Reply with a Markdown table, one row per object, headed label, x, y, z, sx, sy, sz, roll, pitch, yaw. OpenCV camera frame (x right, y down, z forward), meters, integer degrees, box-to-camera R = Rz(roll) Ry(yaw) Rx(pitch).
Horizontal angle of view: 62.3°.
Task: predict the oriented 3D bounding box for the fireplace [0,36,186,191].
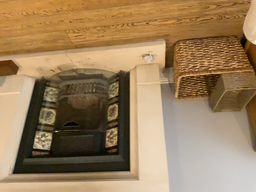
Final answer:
| label | x | y | z | sx | sy | sz | roll | pitch | yaw |
| --- | --- | --- | --- | --- | --- | --- | --- | --- | --- |
| fireplace | -0.470 | 0.270 | 1.710 | 1.640 | 1.290 | 0.550 | -4 | 151 | 6 |
